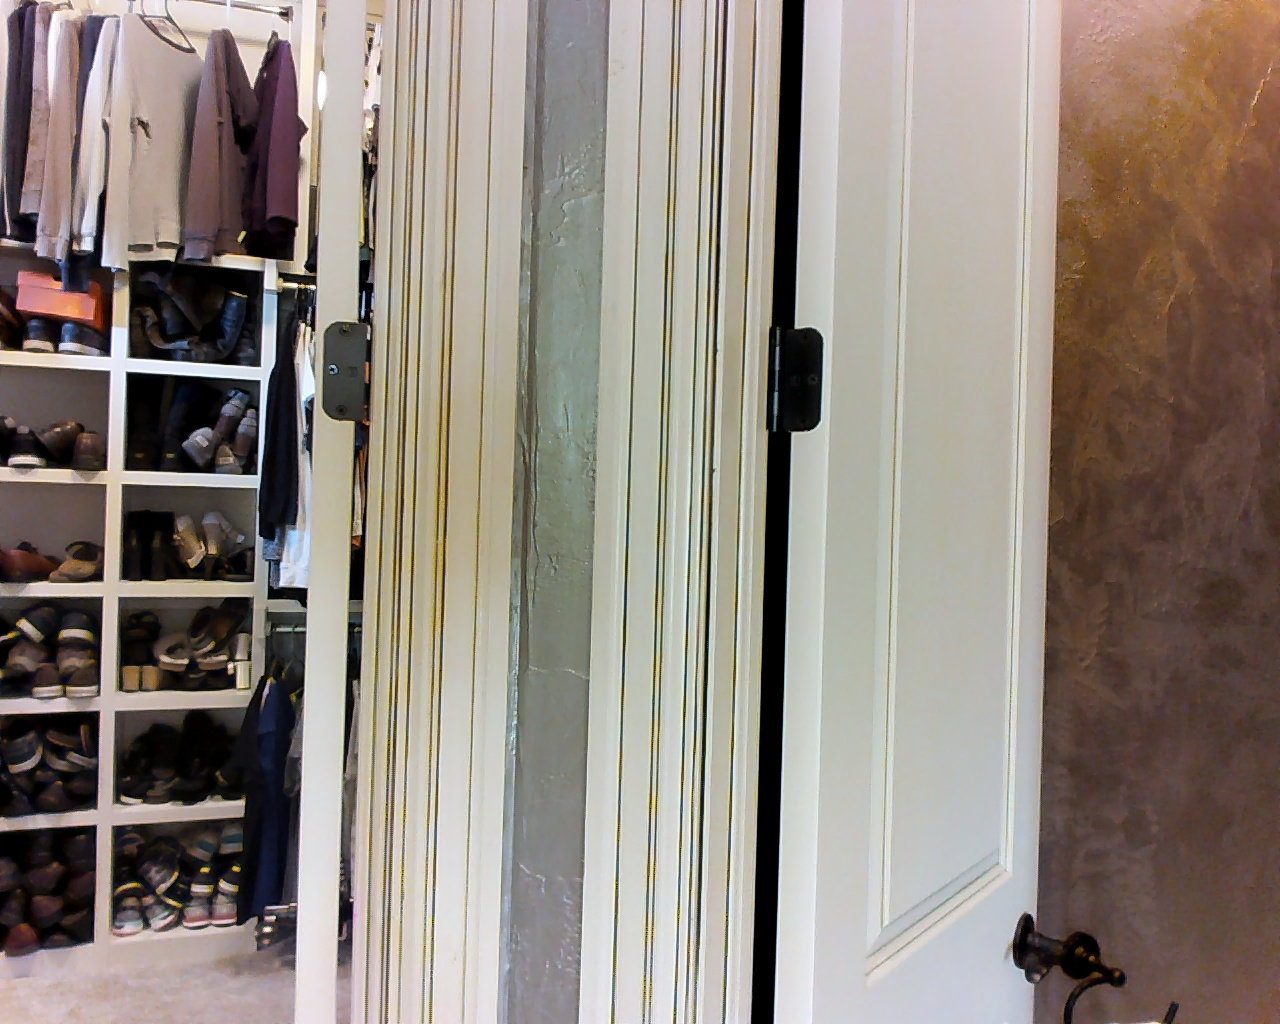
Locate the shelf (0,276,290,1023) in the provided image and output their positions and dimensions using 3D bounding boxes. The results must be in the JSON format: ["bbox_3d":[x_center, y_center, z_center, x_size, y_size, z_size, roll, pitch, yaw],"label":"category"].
[{"bbox_3d":[-1.540,0.390,3.220,0.850,2.030,0.560,2,0,-20],"label":"shelf"}]

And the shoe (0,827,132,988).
[{"bbox_3d":[-1.740,1.160,3.150,0.410,0.390,0.160,2,0,-20],"label":"shoe"}]

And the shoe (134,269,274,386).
[{"bbox_3d":[-1.340,-0.560,3.310,0.380,0.290,0.260,2,0,-20],"label":"shoe"}]

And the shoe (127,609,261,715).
[{"bbox_3d":[-1.410,0.470,3.410,0.370,0.290,0.290,2,0,-19],"label":"shoe"}]

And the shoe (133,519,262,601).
[{"bbox_3d":[-1.400,0.150,3.410,0.360,0.240,0.290,2,0,-20],"label":"shoe"}]

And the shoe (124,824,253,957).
[{"bbox_3d":[-1.410,1.180,3.360,0.350,0.310,0.220,2,0,-19],"label":"shoe"}]

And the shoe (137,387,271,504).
[{"bbox_3d":[-1.360,-0.200,3.350,0.370,0.340,0.170,2,0,-20],"label":"shoe"}]

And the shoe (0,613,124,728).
[{"bbox_3d":[-1.780,0.470,3.220,0.370,0.300,0.280,2,0,-20],"label":"shoe"}]

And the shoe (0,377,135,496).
[{"bbox_3d":[-1.770,-0.220,3.250,0.380,0.330,0.330,2,0,-20],"label":"shoe"}]

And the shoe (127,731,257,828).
[{"bbox_3d":[-1.410,0.840,3.390,0.360,0.220,0.280,2,0,-20],"label":"shoe"}]
